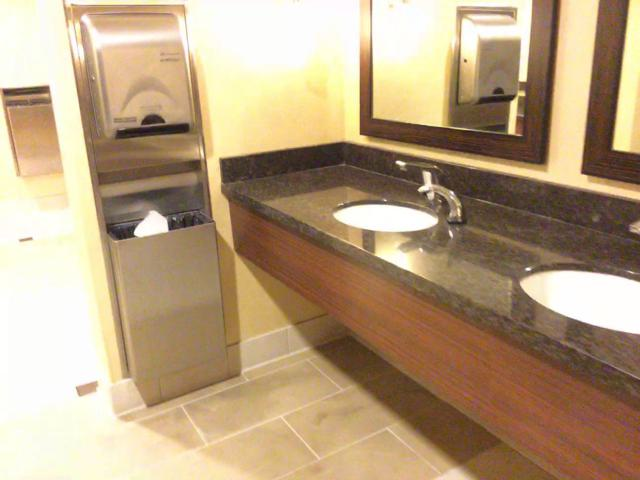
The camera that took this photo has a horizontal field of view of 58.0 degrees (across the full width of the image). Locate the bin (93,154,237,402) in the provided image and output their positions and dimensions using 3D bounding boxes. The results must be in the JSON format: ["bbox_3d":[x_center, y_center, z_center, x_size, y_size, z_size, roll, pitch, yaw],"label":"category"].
[{"bbox_3d":[-0.590,0.140,2.270,0.430,0.890,0.210,-10,21,-26],"label":"bin"}]

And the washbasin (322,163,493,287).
[{"bbox_3d":[0.260,-0.070,1.840,0.360,0.250,0.400,-10,21,-26],"label":"washbasin"}]

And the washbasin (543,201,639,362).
[{"bbox_3d":[0.710,0.090,1.280,0.200,0.260,0.330,-10,21,-26],"label":"washbasin"}]
